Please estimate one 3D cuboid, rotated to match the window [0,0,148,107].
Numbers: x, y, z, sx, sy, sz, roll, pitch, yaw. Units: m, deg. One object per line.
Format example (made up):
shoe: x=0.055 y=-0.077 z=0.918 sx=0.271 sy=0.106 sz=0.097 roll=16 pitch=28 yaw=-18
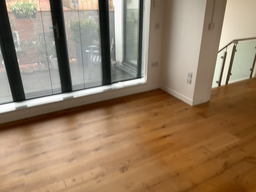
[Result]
window: x=-0.940 y=-1.020 z=2.980 sx=2.780 sy=2.090 sz=0.140 roll=-13 pitch=28 yaw=-26
